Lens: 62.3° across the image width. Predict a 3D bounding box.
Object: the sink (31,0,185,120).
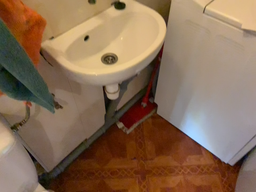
[{"bbox_3d":[-0.050,-0.170,0.760,0.450,0.170,0.250,-37,62,-26],"label":"sink"}]
